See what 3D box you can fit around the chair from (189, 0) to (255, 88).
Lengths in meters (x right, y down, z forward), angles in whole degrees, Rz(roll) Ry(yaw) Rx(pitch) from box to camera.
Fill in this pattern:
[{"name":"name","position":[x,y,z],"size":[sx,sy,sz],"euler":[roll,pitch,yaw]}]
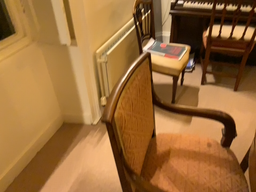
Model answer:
[{"name":"chair","position":[0.980,-0.590,2.200],"size":[0.500,0.810,0.490],"euler":[11,40,16]}]

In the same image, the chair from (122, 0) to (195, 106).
[{"name":"chair","position":[0.280,-0.420,2.010],"size":[0.470,0.800,0.490],"euler":[15,41,20]}]
